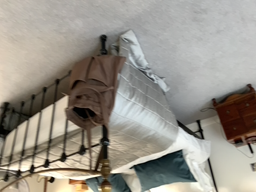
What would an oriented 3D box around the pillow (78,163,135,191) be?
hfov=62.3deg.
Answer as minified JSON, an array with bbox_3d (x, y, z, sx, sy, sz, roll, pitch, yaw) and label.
[{"bbox_3d":[-0.260,1.050,2.550,0.580,0.370,0.150,-20,-165,28],"label":"pillow"}]
